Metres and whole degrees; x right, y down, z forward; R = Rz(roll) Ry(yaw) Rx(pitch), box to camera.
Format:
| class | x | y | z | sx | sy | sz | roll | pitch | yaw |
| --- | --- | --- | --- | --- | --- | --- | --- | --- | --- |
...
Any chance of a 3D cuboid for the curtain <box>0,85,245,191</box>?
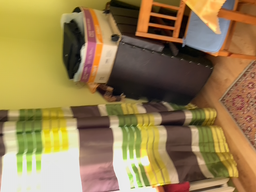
| class | x | y | z | sx | sy | sz | roll | pitch | yaw |
| --- | --- | --- | --- | --- | --- | --- | --- | --- | --- |
| curtain | -0.390 | 0.290 | 1.500 | 0.210 | 2.620 | 0.780 | 114 | 148 | -42 |

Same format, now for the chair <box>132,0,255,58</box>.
| class | x | y | z | sx | sy | sz | roll | pitch | yaw |
| --- | --- | --- | --- | --- | --- | --- | --- | --- | --- |
| chair | 0.530 | -0.580 | 1.680 | 0.410 | 0.850 | 0.370 | -128 | 45 | -56 |

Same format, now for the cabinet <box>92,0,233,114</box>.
| class | x | y | z | sx | sy | sz | roll | pitch | yaw |
| --- | --- | --- | --- | --- | --- | --- | --- | --- | --- |
| cabinet | 0.240 | -0.420 | 2.180 | 0.630 | 0.970 | 1.030 | 114 | 148 | -42 |
